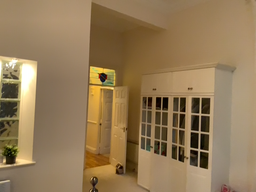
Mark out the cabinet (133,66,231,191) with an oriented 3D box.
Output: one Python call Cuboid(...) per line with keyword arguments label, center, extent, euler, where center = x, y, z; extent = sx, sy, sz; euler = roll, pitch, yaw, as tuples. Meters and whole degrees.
Cuboid(label="cabinet", center=(0.840, 0.650, 3.660), extent=(0.550, 2.140, 1.530), euler=(3, -1, -40))
